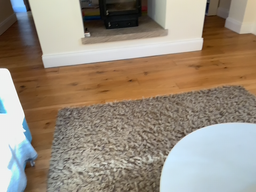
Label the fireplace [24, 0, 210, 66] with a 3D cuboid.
[{"bbox_3d":[-0.150,-1.460,2.810,2.130,1.620,1.070,-7,34,-7],"label":"fireplace"}]
